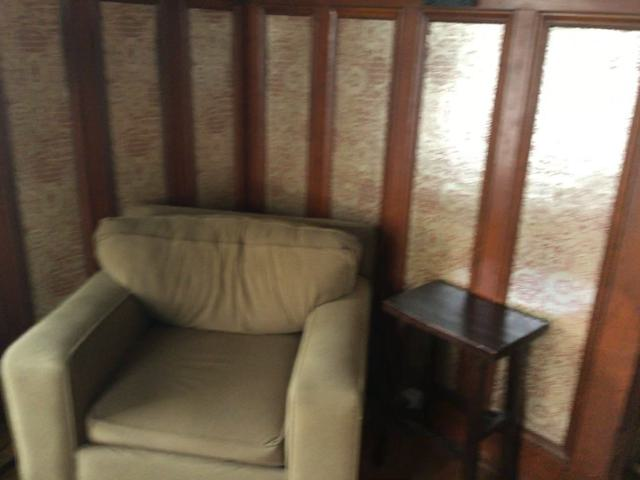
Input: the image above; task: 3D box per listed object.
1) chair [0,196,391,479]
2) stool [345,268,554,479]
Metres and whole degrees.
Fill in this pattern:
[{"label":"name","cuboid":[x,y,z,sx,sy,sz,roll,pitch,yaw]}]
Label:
[{"label":"chair","cuboid":[-0.330,0.390,2.020,1.060,0.890,0.990,1,16,3]},{"label":"stool","cuboid":[0.420,0.510,2.000,0.360,0.650,0.560,-15,22,-43]}]
